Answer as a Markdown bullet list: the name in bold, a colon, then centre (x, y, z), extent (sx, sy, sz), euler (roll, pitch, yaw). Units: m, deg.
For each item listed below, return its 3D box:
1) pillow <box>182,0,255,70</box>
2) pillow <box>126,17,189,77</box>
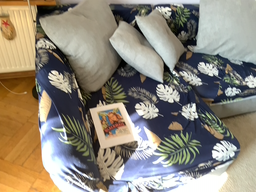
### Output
- **pillow**: centre (0.970, -0.590, 1.940), extent (0.720, 0.520, 0.300), euler (19, 70, -11)
- **pillow**: centre (0.250, -0.420, 1.700), extent (0.400, 0.280, 0.580), euler (8, 30, 9)
